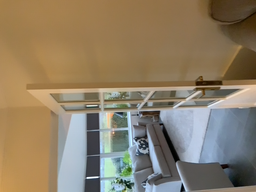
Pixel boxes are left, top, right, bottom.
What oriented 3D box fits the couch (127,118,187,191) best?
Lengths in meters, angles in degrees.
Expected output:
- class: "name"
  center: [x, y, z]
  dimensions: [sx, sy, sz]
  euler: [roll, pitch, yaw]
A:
- class: "couch"
  center: [0.550, 1.610, 5.160]
  dimensions: [1.990, 0.890, 1.130]
  euler: [-104, 14, -58]
